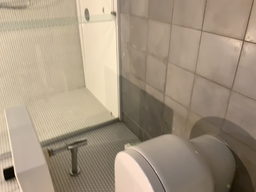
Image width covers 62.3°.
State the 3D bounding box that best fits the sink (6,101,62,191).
[{"bbox_3d":[-0.540,0.360,1.220,0.620,0.150,0.420,37,135,50],"label":"sink"}]
